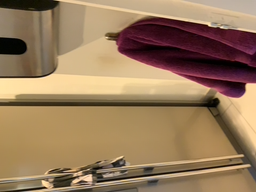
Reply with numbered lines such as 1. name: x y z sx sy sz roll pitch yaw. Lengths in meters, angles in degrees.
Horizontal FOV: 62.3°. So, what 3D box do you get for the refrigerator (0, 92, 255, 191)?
1. refrigerator: -0.060 0.600 1.490 0.980 1.720 0.760 -109 28 -42
